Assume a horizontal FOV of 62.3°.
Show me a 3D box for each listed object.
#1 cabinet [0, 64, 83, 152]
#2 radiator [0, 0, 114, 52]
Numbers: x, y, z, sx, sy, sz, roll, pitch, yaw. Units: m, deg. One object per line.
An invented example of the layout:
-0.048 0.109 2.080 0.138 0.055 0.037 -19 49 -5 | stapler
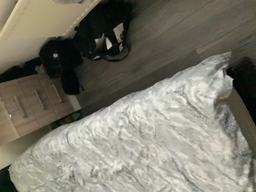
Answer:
-0.970 0.120 2.070 0.660 0.650 0.510 -27 91 41 | cabinet
-0.290 -0.560 1.120 1.020 0.560 0.120 -26 91 41 | radiator
